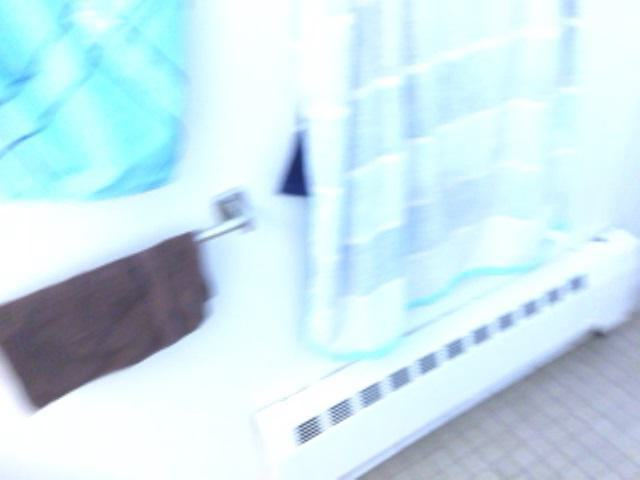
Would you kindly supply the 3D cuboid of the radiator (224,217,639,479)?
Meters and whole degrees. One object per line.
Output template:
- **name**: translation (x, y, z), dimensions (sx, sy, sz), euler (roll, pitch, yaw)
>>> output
- **radiator**: translation (0.350, 0.320, 1.390), dimensions (1.120, 0.360, 0.100), euler (-23, 37, -17)

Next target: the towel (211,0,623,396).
- **towel**: translation (0.200, -0.230, 0.950), dimensions (0.640, 0.890, 0.140), euler (-25, 37, -18)

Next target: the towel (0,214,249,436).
- **towel**: translation (-0.300, 0.120, 0.870), dimensions (0.340, 0.180, 0.100), euler (-25, 37, -18)
